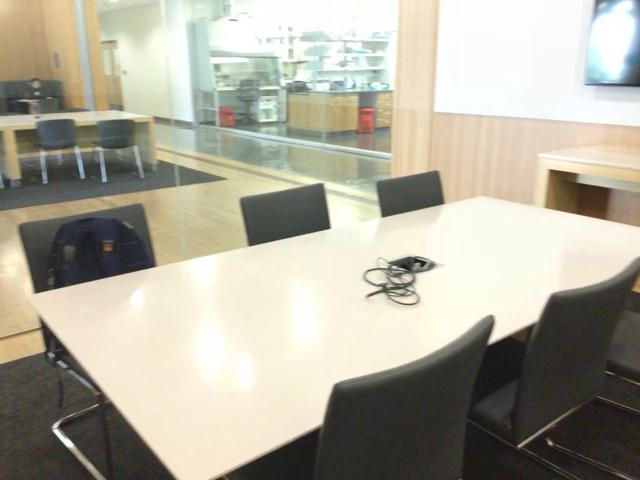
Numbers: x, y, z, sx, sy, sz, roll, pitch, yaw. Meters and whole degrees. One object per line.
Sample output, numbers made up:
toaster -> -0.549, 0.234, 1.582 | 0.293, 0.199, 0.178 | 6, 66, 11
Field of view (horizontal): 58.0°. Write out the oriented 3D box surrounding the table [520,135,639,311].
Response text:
table -> 2.020, -0.060, 3.310 | 0.480, 0.880, 1.570 | -14, 22, -36

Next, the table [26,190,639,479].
table -> 0.330, 0.450, 2.170 | 2.290, 0.780, 1.110 | -14, 22, -36

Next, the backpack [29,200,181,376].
backpack -> -0.760, 0.140, 2.050 | 0.340, 0.450, 0.420 | -14, 22, -36
